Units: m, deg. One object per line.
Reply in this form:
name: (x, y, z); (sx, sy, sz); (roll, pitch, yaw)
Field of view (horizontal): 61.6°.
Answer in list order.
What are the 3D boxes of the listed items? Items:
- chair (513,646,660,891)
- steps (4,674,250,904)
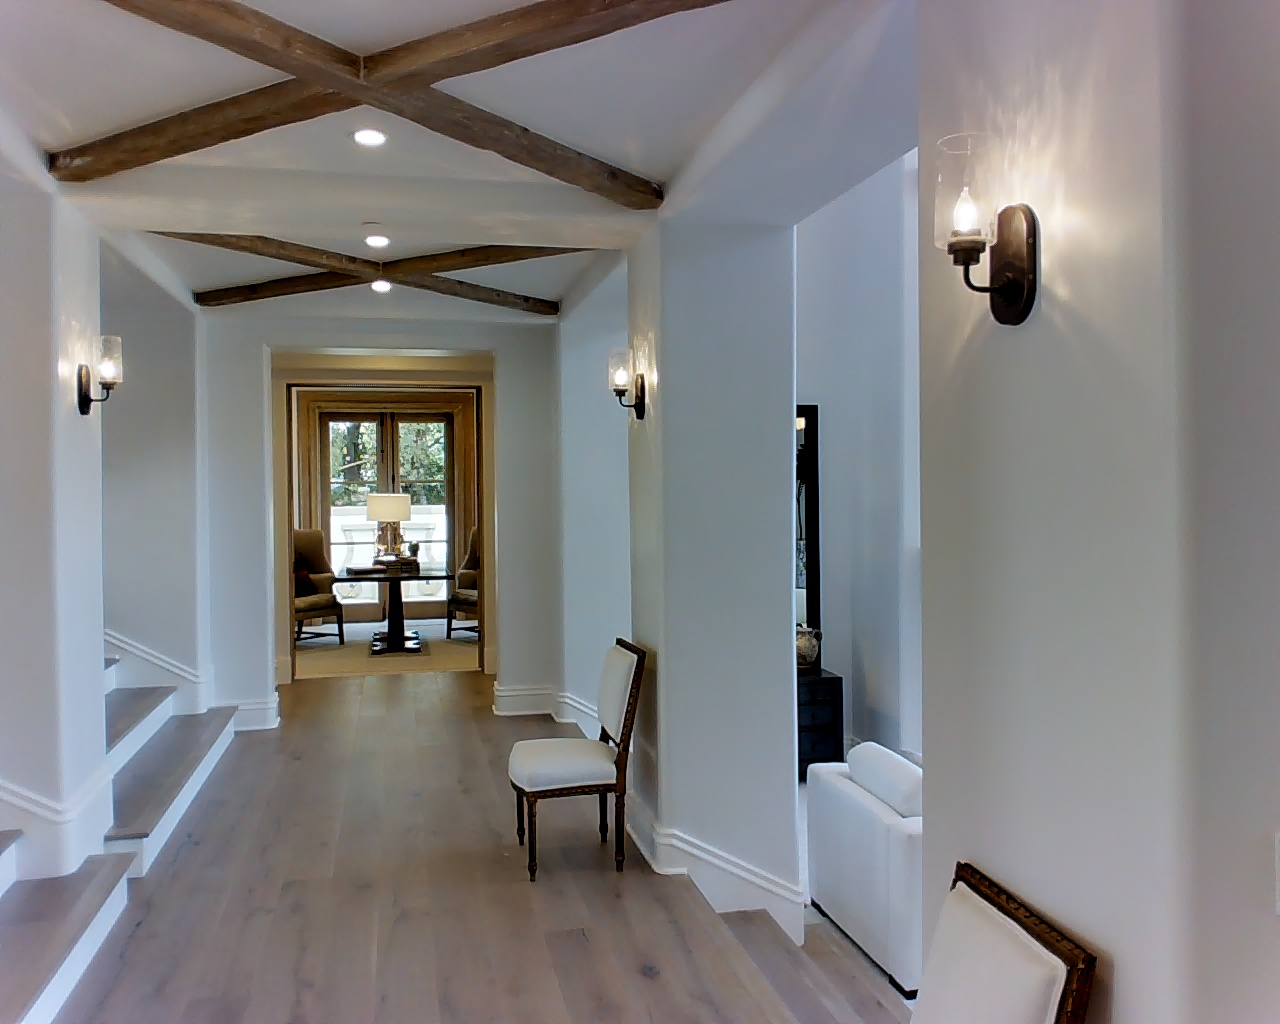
chair: (-0.240, 1.070, 4.610); (0.550, 0.900, 0.490); (-1, 1, -13)
steps: (-2.559, 1.320, 5.680); (0.590, 0.460, 2.660); (-1, 1, -13)
